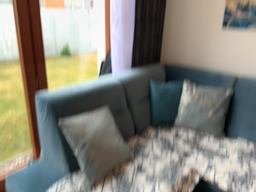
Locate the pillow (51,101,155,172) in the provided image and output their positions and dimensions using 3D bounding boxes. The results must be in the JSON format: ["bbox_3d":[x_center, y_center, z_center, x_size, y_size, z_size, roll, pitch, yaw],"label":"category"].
[{"bbox_3d":[-0.160,0.270,1.520,0.650,0.400,0.150,-14,64,-44],"label":"pillow"}]

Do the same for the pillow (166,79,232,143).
[{"bbox_3d":[0.650,0.150,1.980,0.380,0.440,0.190,33,37,5],"label":"pillow"}]

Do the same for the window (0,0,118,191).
[{"bbox_3d":[-1.110,-0.210,1.390,0.250,2.620,2.830,16,24,36],"label":"window"}]

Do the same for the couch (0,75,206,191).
[{"bbox_3d":[-0.170,0.460,1.470,0.920,0.910,0.990,17,25,37],"label":"couch"}]
